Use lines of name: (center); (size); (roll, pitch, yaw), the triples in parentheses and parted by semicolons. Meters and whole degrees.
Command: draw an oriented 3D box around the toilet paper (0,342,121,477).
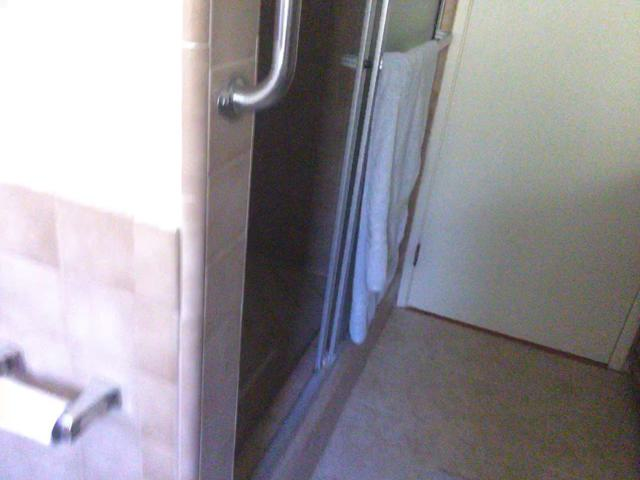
toilet paper: (-0.370, 0.210, 0.740); (0.200, 0.070, 0.090); (15, 30, 14)
